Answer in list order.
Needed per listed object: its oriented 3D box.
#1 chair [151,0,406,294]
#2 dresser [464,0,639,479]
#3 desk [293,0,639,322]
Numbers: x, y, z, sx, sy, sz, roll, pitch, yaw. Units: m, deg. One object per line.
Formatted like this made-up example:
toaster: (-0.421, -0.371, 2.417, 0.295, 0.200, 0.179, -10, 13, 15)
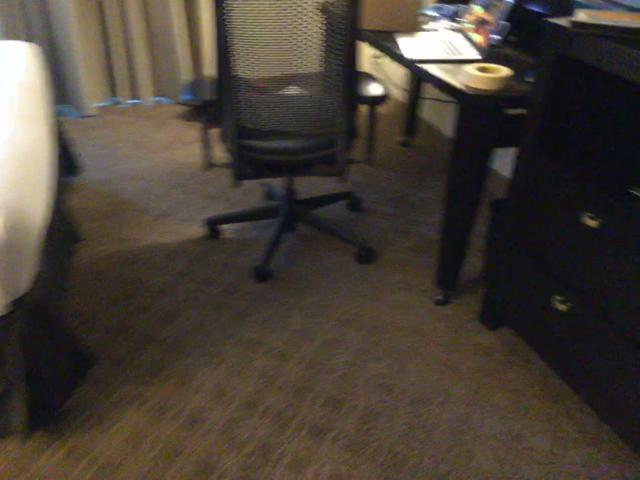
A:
chair: (-0.130, -0.440, 2.030, 0.670, 1.050, 0.650, -2, 32, -4)
dresser: (0.960, 0.030, 1.270, 0.560, 1.090, 1.180, -11, 34, -18)
desk: (0.460, -0.580, 2.290, 0.690, 1.000, 1.440, -11, 34, -18)
